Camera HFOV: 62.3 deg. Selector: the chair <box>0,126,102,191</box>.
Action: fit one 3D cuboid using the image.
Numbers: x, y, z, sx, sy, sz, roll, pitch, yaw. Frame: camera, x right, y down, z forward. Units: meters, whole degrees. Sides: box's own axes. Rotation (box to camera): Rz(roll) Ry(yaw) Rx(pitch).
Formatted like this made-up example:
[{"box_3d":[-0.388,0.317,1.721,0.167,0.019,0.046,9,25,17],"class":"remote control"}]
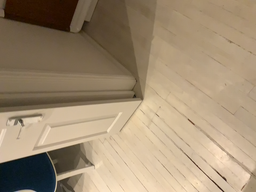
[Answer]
[{"box_3d":[-0.810,0.690,1.800,0.460,0.920,0.580,47,119,28],"class":"chair"}]
